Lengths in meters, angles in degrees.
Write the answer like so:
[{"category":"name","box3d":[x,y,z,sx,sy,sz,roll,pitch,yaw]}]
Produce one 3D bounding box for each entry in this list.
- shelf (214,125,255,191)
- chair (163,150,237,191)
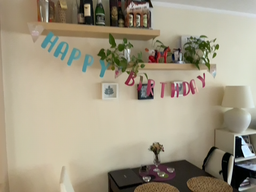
[{"category":"shelf","box3d":[1.310,0.920,2.520,0.420,1.060,0.320,-2,4,-22]},{"category":"chair","box3d":[0.690,1.060,2.130,0.550,0.860,0.430,-2,4,-14]}]
